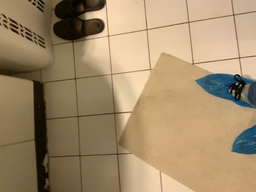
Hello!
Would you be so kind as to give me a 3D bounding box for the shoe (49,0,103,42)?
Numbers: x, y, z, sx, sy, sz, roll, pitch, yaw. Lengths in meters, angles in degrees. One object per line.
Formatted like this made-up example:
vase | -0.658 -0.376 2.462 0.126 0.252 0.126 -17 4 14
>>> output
shoe | -0.280 -0.440 1.140 0.270 0.050 0.240 -7 85 11
